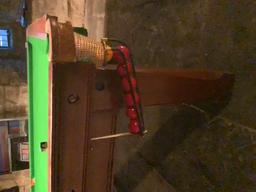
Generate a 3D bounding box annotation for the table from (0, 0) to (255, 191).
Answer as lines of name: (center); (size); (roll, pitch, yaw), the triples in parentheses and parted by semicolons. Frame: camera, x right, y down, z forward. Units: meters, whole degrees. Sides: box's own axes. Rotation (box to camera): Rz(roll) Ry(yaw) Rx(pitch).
table: (-0.450, 0.870, 1.630); (1.730, 0.880, 3.110); (29, 117, 59)
